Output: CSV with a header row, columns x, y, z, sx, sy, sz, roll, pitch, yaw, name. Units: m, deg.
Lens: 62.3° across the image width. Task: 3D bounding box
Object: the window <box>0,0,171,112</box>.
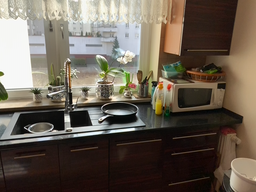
x,y,z,sx,sy,sz,roll,pitch,yaw,name
-0.590,-0.630,1.720,2.000,1.520,0.080,-3,18,-16,window
